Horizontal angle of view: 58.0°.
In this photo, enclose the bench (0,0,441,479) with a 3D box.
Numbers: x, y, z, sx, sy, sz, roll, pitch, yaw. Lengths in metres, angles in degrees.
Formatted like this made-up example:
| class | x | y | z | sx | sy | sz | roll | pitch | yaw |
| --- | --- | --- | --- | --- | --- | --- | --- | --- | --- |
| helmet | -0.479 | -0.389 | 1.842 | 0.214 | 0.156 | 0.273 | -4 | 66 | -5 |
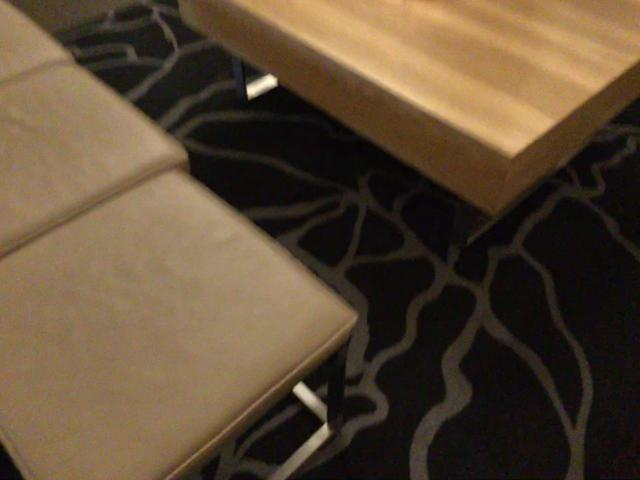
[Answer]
| class | x | y | z | sx | sy | sz | roll | pitch | yaw |
| --- | --- | --- | --- | --- | --- | --- | --- | --- | --- |
| bench | -0.590 | -0.020 | 1.350 | 0.590 | 0.510 | 1.630 | -35 | 58 | -28 |
